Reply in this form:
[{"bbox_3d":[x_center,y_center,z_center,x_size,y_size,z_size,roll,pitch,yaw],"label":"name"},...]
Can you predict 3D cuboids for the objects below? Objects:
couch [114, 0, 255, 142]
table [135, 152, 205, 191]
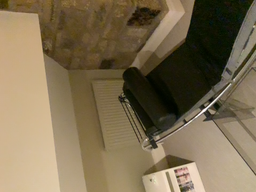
[{"bbox_3d":[0.490,-0.440,1.410,0.600,0.670,1.470,60,142,40],"label":"couch"},{"bbox_3d":[0.500,1.220,1.920,0.480,0.390,1.260,-48,52,53],"label":"table"}]
